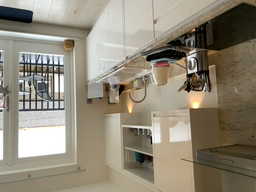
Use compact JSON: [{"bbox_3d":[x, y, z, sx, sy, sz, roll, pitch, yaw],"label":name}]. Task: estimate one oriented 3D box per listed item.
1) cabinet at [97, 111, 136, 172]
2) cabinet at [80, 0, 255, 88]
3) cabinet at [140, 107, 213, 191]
[{"bbox_3d":[-0.200,0.640,3.220,0.340,0.800,0.650,0,175,-26],"label":"cabinet"},{"bbox_3d":[0.210,-0.740,2.120,0.590,0.910,3.210,0,175,-26],"label":"cabinet"},{"bbox_3d":[0.420,0.520,1.990,0.320,0.800,0.610,0,175,-26],"label":"cabinet"}]
